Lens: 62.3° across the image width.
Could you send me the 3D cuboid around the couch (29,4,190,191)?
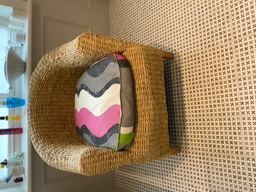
[{"bbox_3d":[-0.160,0.040,1.420,0.740,0.770,0.800,-10,81,52],"label":"couch"}]
